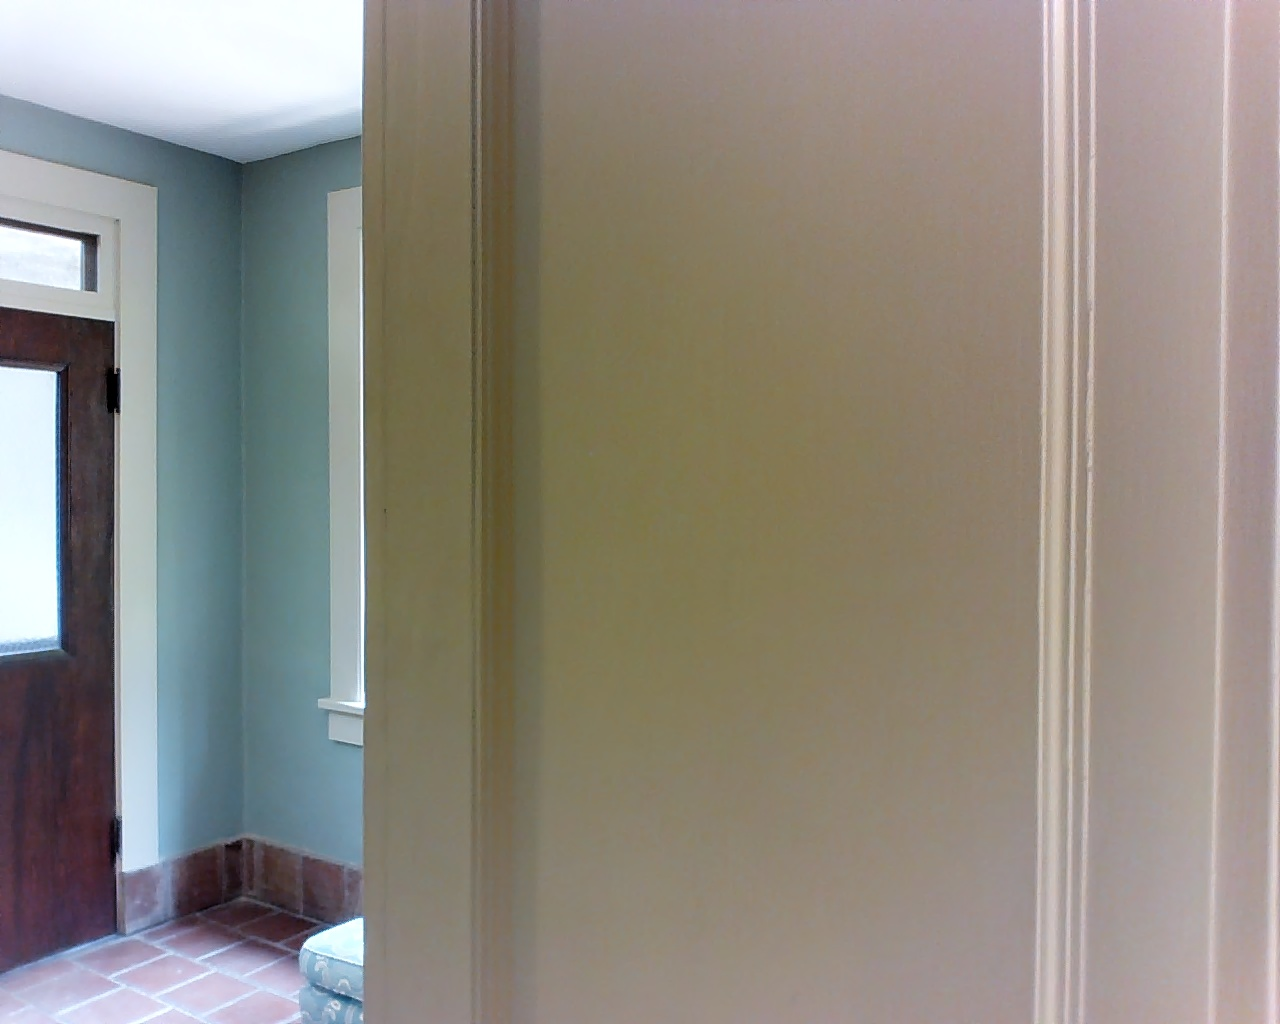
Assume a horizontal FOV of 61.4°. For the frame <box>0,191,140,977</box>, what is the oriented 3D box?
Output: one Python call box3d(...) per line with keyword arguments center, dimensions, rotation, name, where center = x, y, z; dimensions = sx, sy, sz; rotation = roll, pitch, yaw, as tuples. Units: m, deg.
box3d(center=(-2.030, 0.230, 3.320), dimensions=(0.080, 2.430, 0.980), rotation=(1, 1, 34), name="frame")
